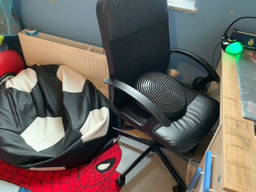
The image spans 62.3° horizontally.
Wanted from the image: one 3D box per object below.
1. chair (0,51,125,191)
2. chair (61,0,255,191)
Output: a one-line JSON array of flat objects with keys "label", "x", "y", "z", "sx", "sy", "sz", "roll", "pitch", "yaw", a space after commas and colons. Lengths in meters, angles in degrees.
[{"label": "chair", "x": -0.580, "y": 0.100, "z": 1.480, "sx": 0.890, "sy": 0.330, "sz": 0.760, "roll": 17, "pitch": 41, "yaw": 12}, {"label": "chair", "x": 0.160, "y": 0.010, "z": 1.170, "sx": 0.700, "sy": 0.990, "sz": 0.650, "roll": 35, "pitch": 47, "yaw": 30}]
